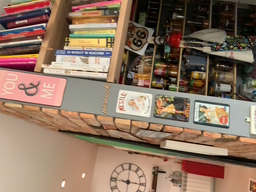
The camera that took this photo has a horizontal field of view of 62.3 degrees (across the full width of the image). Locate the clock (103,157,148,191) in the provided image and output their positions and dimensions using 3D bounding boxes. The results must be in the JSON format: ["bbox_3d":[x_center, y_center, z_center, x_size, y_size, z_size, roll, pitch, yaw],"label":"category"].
[{"bbox_3d":[-0.050,1.780,4.540,0.080,0.860,0.790,86,-167,-77],"label":"clock"}]
